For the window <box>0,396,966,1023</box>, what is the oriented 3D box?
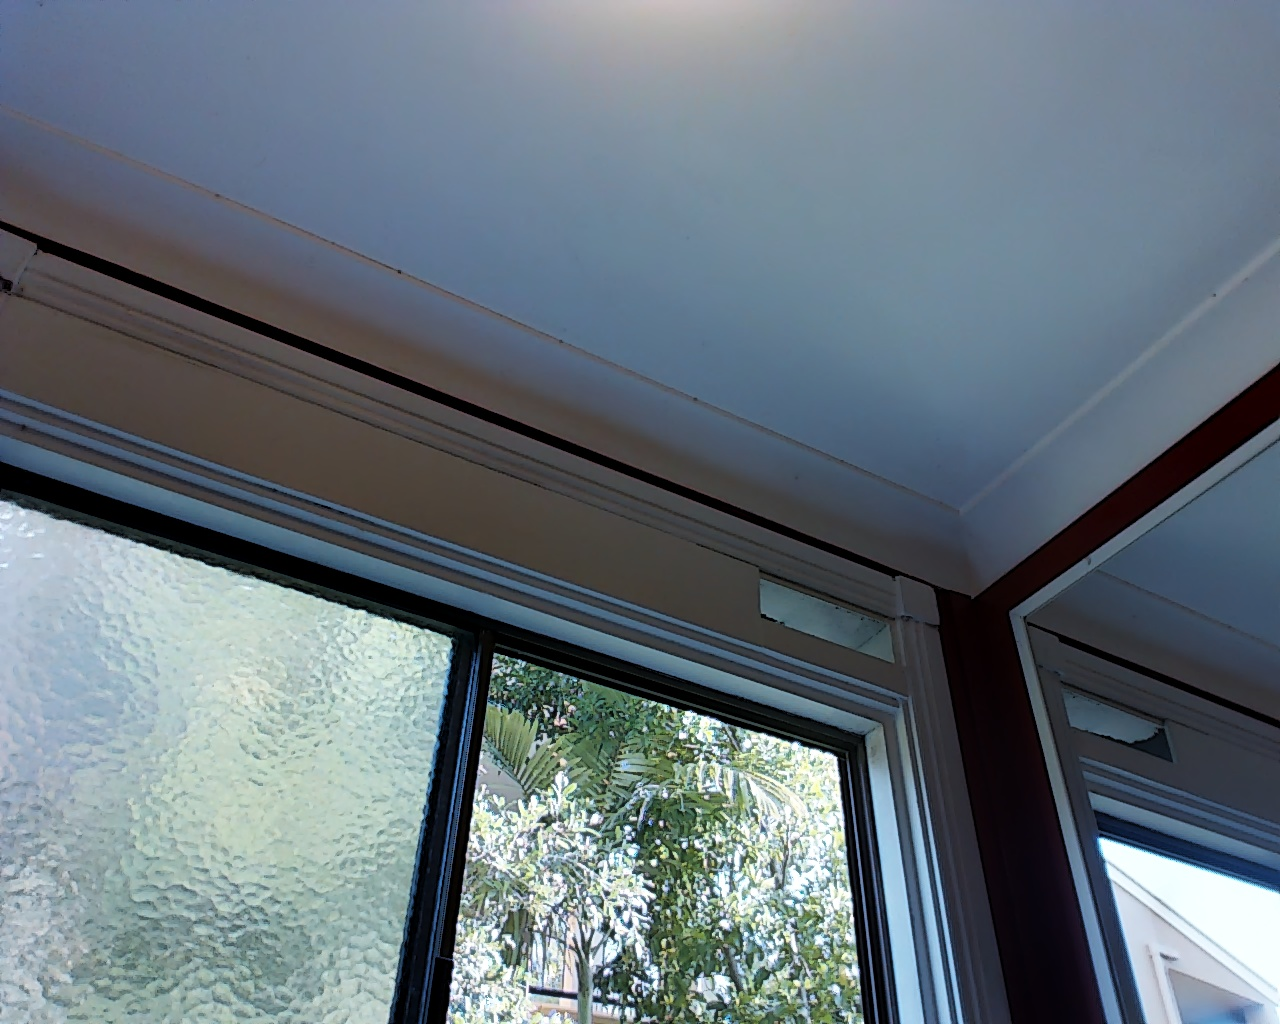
[{"bbox_3d":[-0.190,0.330,1.070,1.190,0.640,0.110,20,-44,-21],"label":"window"}]
